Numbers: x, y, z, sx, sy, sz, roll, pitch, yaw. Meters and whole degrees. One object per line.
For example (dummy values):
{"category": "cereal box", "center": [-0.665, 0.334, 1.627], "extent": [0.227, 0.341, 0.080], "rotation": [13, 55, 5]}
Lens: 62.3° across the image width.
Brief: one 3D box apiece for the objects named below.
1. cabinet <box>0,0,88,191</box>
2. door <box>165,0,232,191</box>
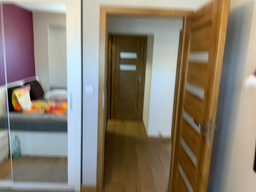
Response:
{"category": "cabinet", "center": [-1.290, -0.010, 2.430], "extent": [1.560, 2.170, 0.430], "rotation": [2, 11, -3]}
{"category": "door", "center": [0.550, 0.290, 1.960], "extent": [0.140, 2.070, 0.950], "rotation": [3, 11, 3]}
